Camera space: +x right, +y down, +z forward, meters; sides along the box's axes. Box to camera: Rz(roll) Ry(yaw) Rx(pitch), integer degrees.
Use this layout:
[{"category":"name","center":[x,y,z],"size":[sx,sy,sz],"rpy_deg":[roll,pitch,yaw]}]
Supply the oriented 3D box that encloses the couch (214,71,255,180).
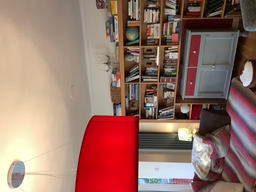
[{"category":"couch","center":[1.600,0.330,2.750],"size":[1.040,0.440,0.970],"rpy_deg":[-87,-4,-61]}]

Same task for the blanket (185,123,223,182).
[{"category":"blanket","center":[1.230,0.920,3.520],"size":[0.550,0.370,0.760],"rpy_deg":[-86,-5,-68]}]
